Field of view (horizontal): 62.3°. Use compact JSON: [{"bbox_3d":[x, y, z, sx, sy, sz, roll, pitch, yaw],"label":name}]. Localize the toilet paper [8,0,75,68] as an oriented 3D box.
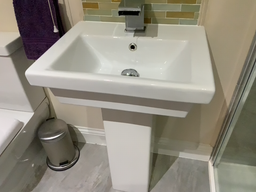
[{"bbox_3d":[-0.370,-0.300,0.930,0.190,0.340,0.080,8,42,11],"label":"toilet paper"}]
